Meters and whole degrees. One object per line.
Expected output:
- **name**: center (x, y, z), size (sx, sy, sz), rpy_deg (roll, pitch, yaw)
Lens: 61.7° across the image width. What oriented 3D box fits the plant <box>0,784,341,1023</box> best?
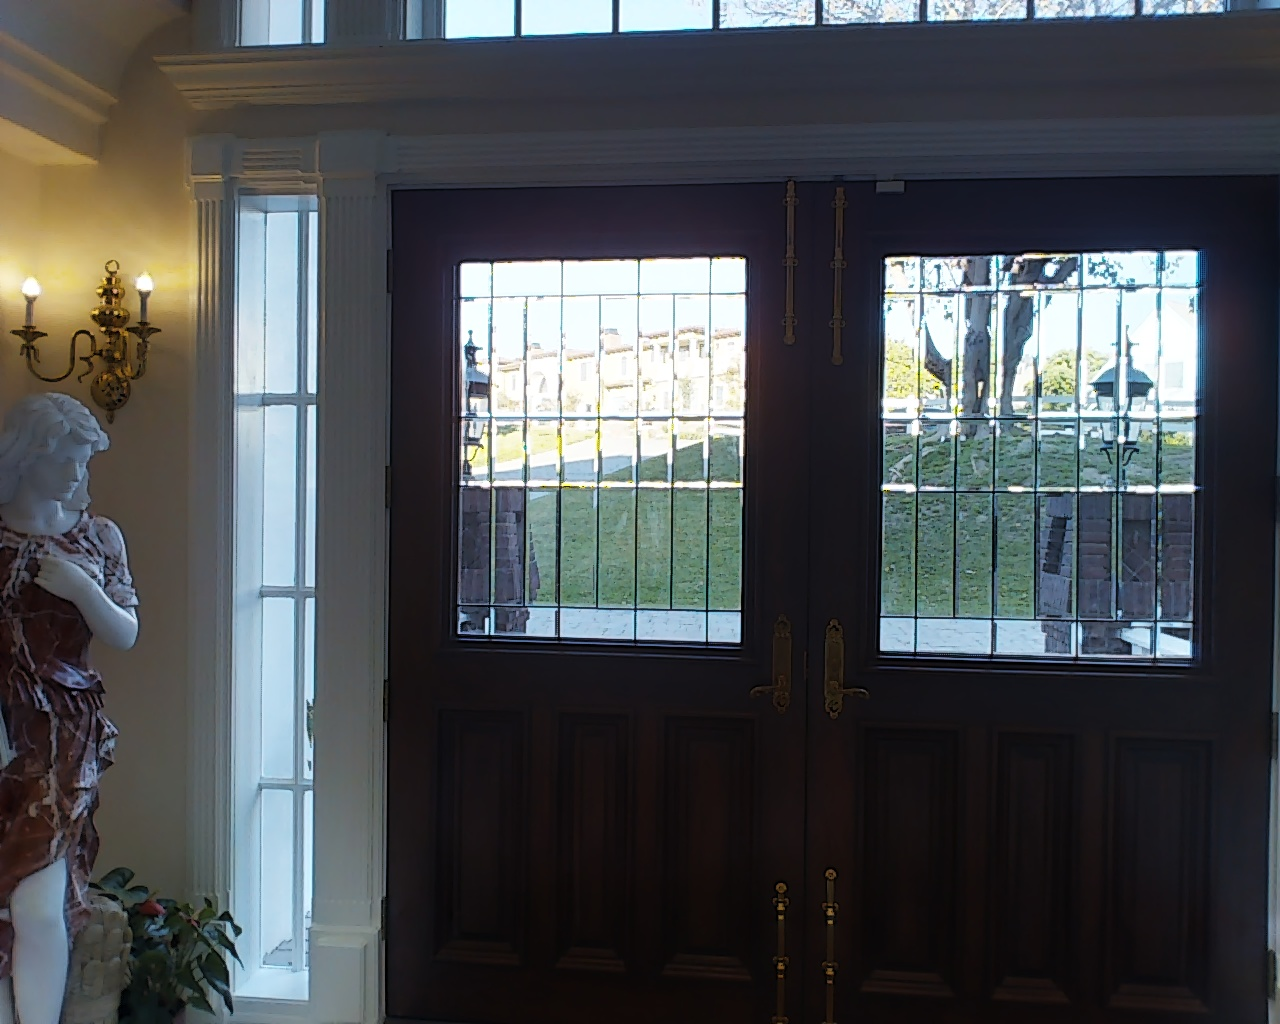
- **plant**: center (-1.290, 1.200, 2.900), size (0.610, 0.570, 0.460), rpy_deg (29, 4, 5)
